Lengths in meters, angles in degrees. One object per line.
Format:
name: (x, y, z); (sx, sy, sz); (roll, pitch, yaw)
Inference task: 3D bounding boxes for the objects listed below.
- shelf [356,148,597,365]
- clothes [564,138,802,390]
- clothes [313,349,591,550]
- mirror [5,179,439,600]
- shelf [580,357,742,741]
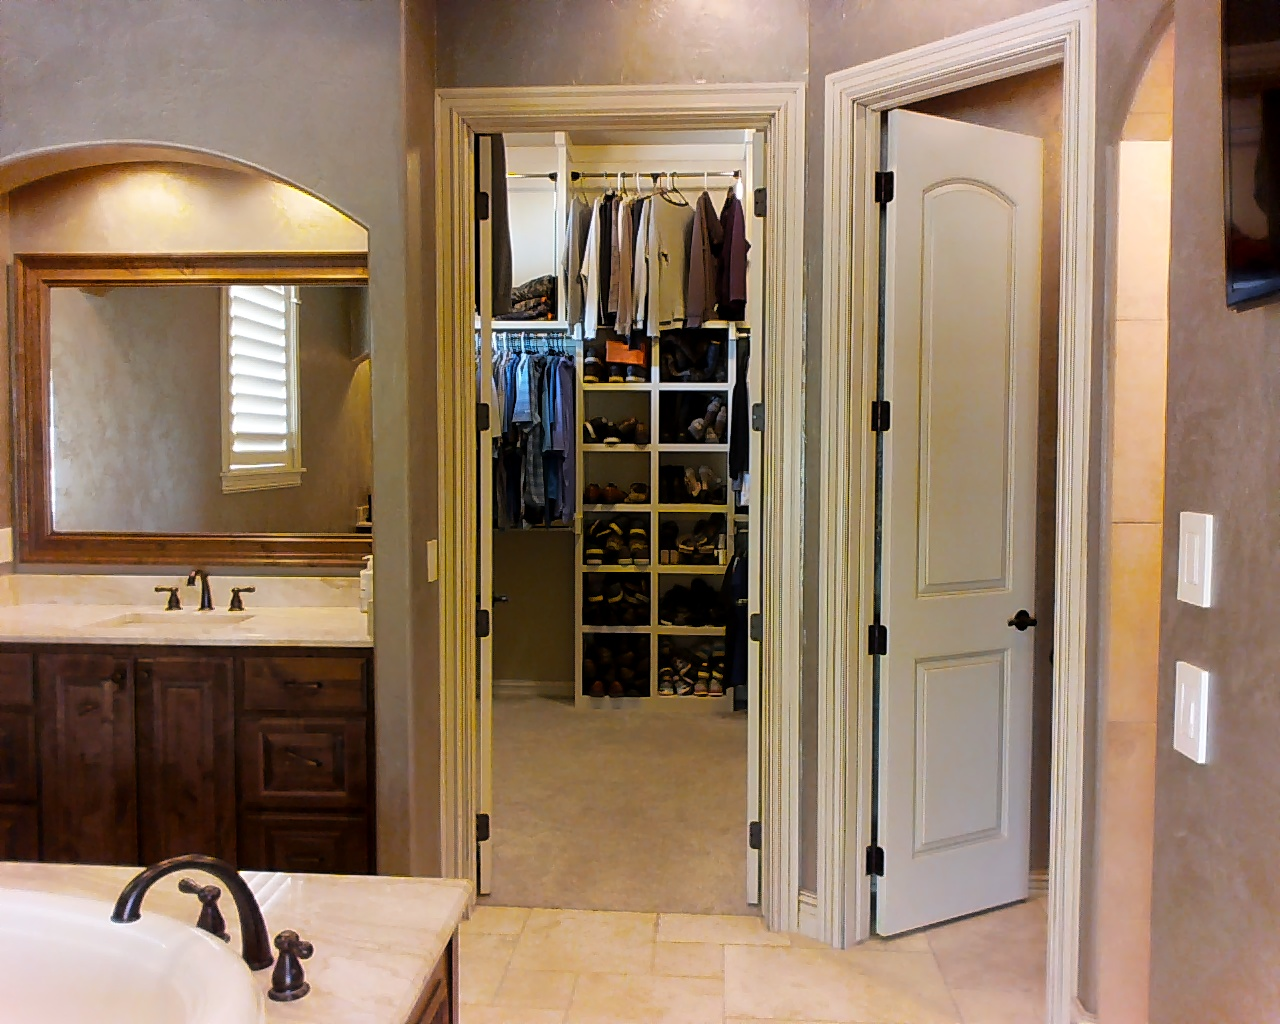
shelf: (-0.900, -1.410, 6.010); (1.270, 1.110, 0.390); (0, 2, 4)
clothes: (0.240, -1.330, 5.890); (1.250, 1.260, 0.510); (0, 2, 4)
clothes: (-1.000, -0.330, 5.790); (1.430, 1.050, 0.340); (0, 2, 4)
mirror: (-1.410, -0.400, 3.610); (1.450, 1.390, 0.060); (0, 2, 3)
shelf: (0.130, 0.190, 5.940); (0.850, 2.030, 0.560); (0, 2, 4)
